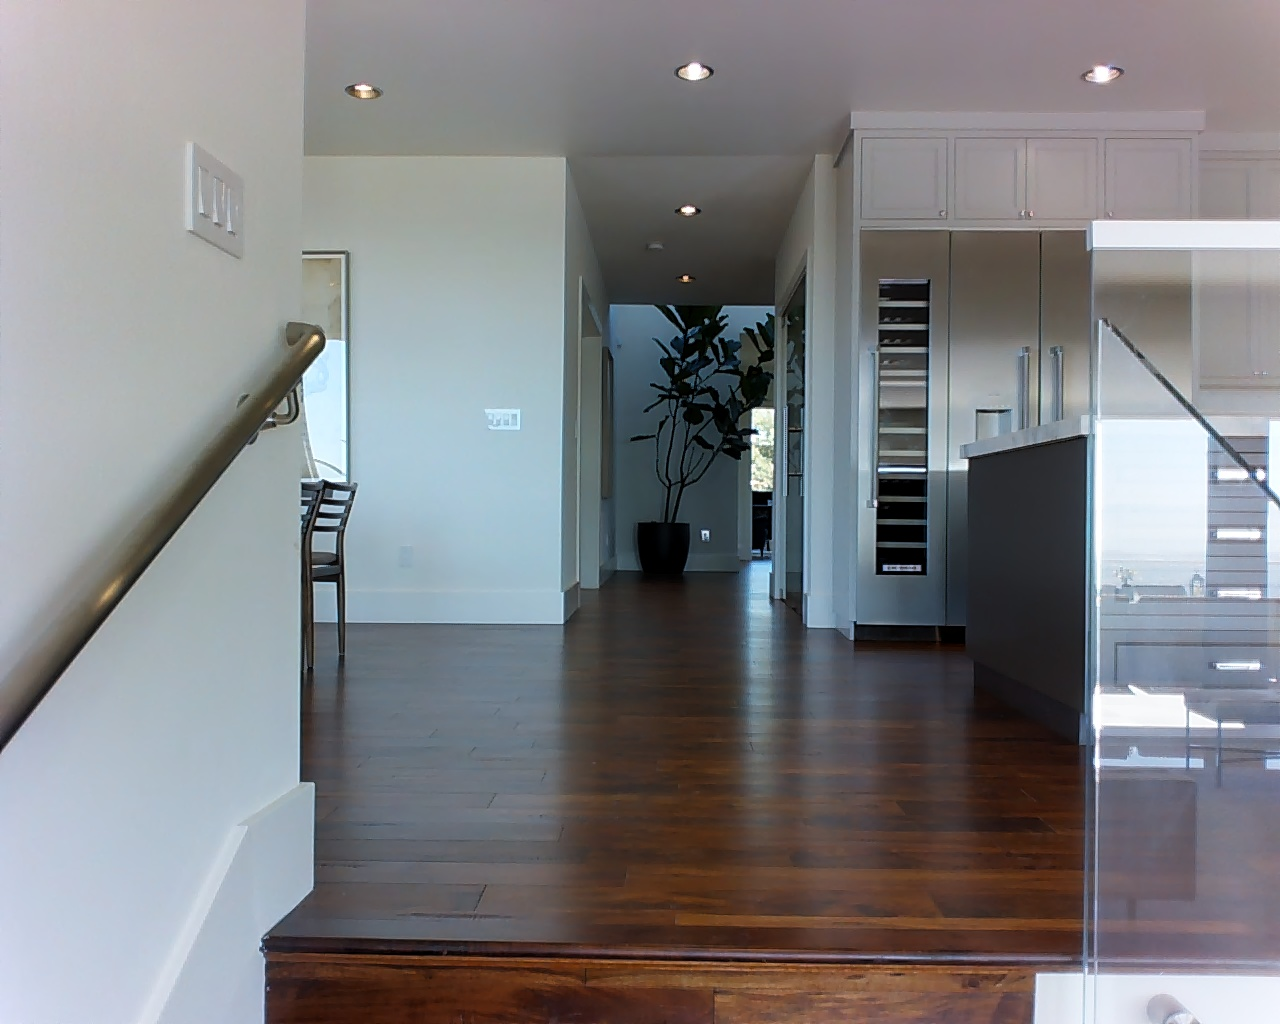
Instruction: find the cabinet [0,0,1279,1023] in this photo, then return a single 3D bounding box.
[{"bbox_3d":[0.060,0.020,2.930,3.950,2.670,0.730,1,0,2],"label":"cabinet"}]
